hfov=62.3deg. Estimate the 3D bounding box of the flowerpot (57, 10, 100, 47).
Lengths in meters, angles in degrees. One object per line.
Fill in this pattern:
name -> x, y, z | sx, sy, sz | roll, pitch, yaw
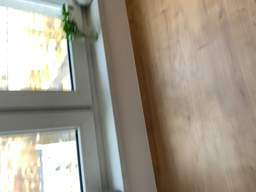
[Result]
flowerpot -> -0.240, -0.320, 1.020 | 0.100, 0.170, 0.110 | -25, 70, 54
